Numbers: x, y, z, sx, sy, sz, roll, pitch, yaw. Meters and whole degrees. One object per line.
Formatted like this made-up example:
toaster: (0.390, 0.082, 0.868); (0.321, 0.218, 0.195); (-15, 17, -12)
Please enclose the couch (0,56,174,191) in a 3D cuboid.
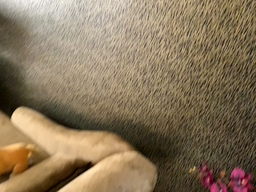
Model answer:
couch: (-0.710, 0.390, 1.290); (1.630, 0.710, 0.790); (27, 26, 25)
